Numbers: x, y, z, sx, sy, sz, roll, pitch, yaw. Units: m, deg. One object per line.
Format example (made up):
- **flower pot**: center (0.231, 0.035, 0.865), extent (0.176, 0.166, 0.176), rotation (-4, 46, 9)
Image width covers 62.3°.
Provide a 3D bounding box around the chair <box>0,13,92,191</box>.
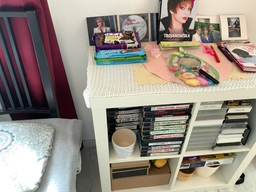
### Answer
- **chair**: center (-0.460, 0.250, 0.900), extent (0.520, 1.010, 0.480), rotation (-4, 41, -7)
